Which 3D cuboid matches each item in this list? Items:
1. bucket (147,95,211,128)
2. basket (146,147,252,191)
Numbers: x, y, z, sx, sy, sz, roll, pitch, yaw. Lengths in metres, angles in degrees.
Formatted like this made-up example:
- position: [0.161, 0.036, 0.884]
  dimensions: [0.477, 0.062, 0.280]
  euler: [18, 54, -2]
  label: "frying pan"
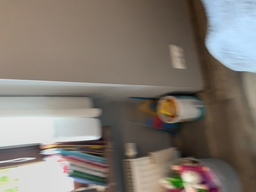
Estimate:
- position: [0.360, 0.110, 1.510]
  dimensions: [0.280, 0.320, 0.190]
  euler: [-16, 77, 53]
  label: "bucket"
- position: [0.440, 0.620, 1.260]
  dimensions: [0.410, 0.400, 0.520]
  euler: [-29, 67, 50]
  label: "basket"
